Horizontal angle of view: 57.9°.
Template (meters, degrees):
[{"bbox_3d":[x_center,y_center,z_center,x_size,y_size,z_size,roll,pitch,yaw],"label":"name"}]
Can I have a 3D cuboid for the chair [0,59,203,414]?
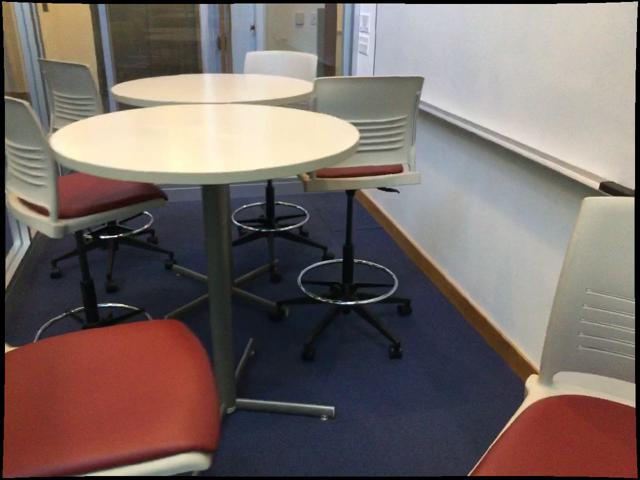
[{"bbox_3d":[-0.869,-0.050,2.190,0.570,1.121,0.530,22,32,38],"label":"chair"}]

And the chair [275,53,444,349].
[{"bbox_3d":[0.120,-0.180,2.490,0.530,1.131,0.510,-5,25,-13],"label":"chair"}]
